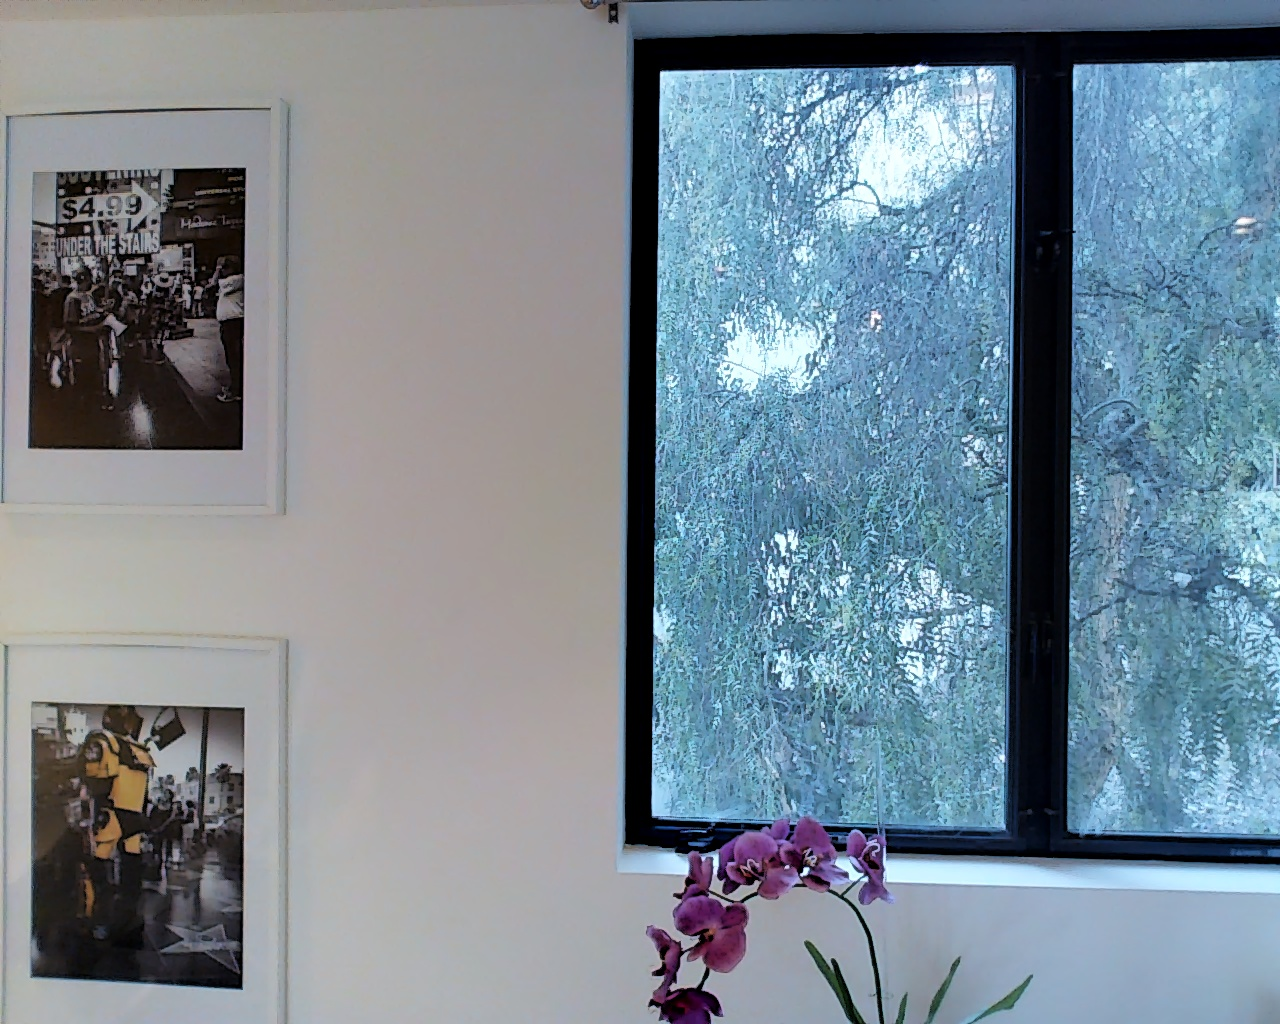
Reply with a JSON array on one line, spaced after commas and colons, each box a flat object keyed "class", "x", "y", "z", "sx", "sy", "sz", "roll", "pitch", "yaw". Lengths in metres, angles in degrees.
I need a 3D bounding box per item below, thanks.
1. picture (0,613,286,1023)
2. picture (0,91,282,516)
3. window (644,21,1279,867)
[{"class": "picture", "x": -0.910, "y": 0.610, "z": 1.900, "sx": 0.560, "sy": 0.850, "sz": 0.060, "roll": 0, "pitch": 0, "yaw": 5}, {"class": "picture", "x": -0.890, "y": -0.360, "z": 1.900, "sx": 0.510, "sy": 0.730, "sz": 0.050, "roll": 0, "pitch": 0, "yaw": 6}, {"class": "window", "x": 0.740, "y": -0.120, "z": 1.940, "sx": 1.450, "sy": 1.470, "sz": 0.090, "roll": 0, "pitch": 0, "yaw": 4}]
